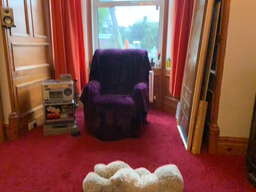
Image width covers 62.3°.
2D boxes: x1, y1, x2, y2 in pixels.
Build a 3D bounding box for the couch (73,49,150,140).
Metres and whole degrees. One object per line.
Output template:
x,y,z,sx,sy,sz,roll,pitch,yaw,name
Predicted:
-0.150,-0.100,2.830,0.830,1.010,0.930,2,14,4,couch
